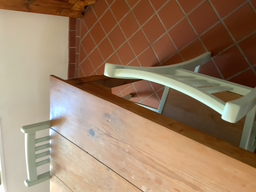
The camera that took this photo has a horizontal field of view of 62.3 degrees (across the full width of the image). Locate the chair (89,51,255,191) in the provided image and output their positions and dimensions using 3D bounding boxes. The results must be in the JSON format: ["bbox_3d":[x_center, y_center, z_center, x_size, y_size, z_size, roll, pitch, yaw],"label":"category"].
[{"bbox_3d":[0.330,0.100,0.960,0.470,0.880,0.470,23,116,33],"label":"chair"}]
